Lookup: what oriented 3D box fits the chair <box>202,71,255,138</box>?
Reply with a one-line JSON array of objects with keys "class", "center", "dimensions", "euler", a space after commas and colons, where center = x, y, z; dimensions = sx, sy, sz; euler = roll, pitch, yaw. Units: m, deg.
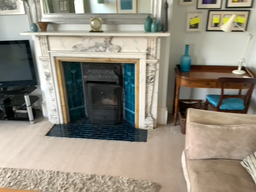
[{"class": "chair", "center": [1.340, 0.100, 2.860], "dimensions": [0.480, 0.770, 0.450], "euler": [3, 23, 7]}]
